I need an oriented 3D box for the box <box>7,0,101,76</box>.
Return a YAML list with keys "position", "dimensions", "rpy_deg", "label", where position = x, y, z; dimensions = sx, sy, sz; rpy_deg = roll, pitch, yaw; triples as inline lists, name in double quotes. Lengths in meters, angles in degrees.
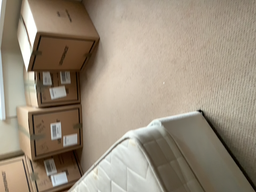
- position: [-0.690, -0.540, 1.920]
  dimensions: [0.530, 0.590, 0.470]
  rpy_deg: [-48, 59, 42]
  label: "box"
